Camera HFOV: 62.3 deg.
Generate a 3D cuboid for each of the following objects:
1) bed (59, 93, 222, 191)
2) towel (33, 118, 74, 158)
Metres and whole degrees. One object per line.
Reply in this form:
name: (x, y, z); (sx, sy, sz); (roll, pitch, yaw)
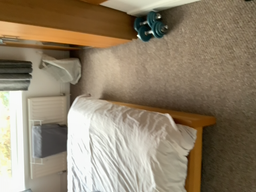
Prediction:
bed: (-0.100, 1.150, 2.040); (1.600, 0.500, 2.190); (10, 99, 49)
towel: (-1.060, 0.590, 3.050); (0.130, 0.540, 0.470); (5, 96, 49)
